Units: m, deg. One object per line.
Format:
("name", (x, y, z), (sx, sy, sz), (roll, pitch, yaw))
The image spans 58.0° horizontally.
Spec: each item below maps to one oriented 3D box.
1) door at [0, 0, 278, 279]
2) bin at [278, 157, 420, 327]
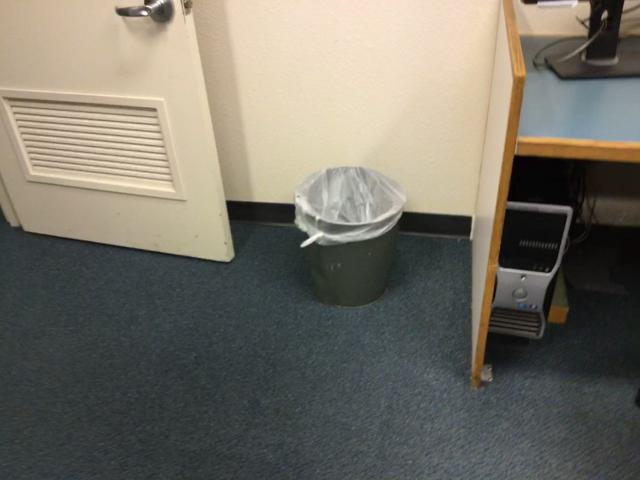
("door", (-0.890, -0.780, 1.750), (1.260, 1.920, 0.230), (4, 34, 17))
("bin", (0.120, -0.010, 1.880), (0.350, 0.380, 0.390), (4, 34, 17))
